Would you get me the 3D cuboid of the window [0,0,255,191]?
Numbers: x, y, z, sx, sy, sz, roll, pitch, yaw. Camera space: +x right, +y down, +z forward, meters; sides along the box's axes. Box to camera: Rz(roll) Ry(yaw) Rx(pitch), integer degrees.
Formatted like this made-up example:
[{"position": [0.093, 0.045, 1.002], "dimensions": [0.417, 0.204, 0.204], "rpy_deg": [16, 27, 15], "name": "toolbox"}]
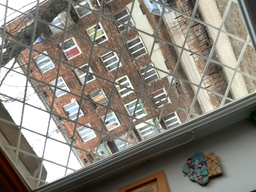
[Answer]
[{"position": [-0.330, -0.440, 0.940], "dimensions": [1.870, 1.510, 0.080], "rpy_deg": [63, -173, -10], "name": "window"}]
